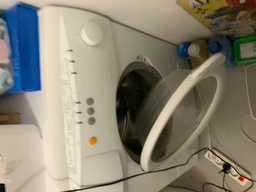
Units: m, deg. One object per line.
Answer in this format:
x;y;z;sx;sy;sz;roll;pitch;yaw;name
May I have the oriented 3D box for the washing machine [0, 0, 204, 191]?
-0.070;0.070;0.960;0.520;0.840;0.620;-4;89;37;washing machine
